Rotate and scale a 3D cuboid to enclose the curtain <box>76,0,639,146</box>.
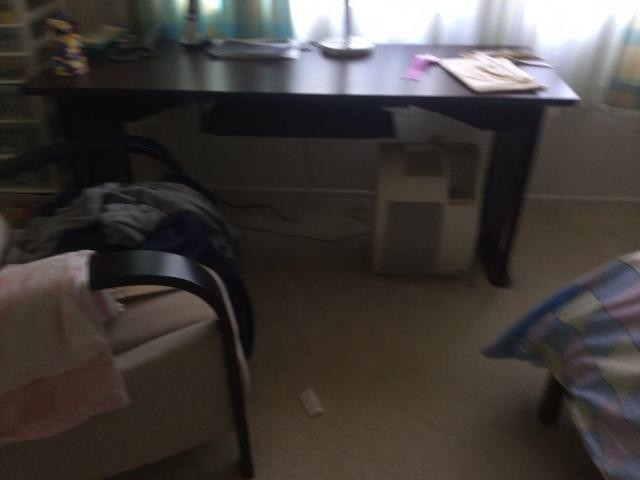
[{"bbox_3d":[0.640,-1.080,1.910,2.930,1.480,0.350,2,32,3],"label":"curtain"}]
